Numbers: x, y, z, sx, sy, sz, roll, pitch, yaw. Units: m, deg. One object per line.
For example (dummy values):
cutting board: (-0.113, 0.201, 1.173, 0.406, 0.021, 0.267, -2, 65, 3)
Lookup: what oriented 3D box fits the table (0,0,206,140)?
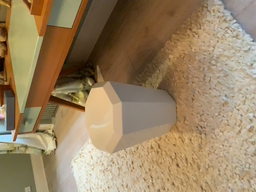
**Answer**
table: (-0.320, -0.410, 1.340, 1.390, 0.720, 0.720, -50, 54, 43)
